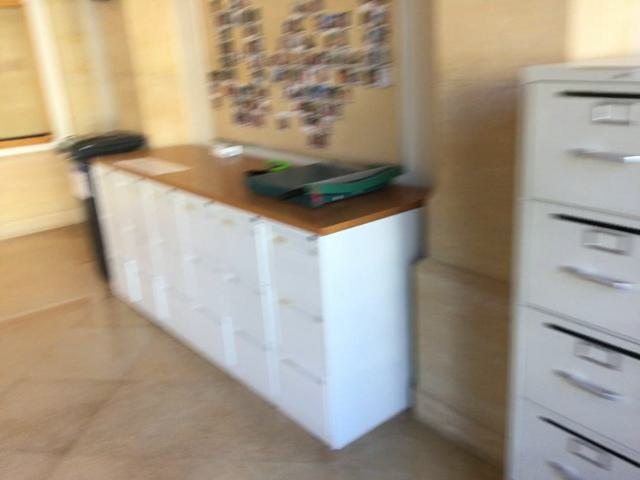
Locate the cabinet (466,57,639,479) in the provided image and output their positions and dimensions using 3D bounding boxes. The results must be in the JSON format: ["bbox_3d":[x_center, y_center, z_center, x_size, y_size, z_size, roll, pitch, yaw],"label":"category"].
[{"bbox_3d":[0.860,0.300,1.570,0.700,1.500,0.560,-14,20,-40],"label":"cabinet"}]

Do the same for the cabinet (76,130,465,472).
[{"bbox_3d":[-0.450,0.060,3.190,0.790,1.120,2.310,-14,20,-40],"label":"cabinet"}]
